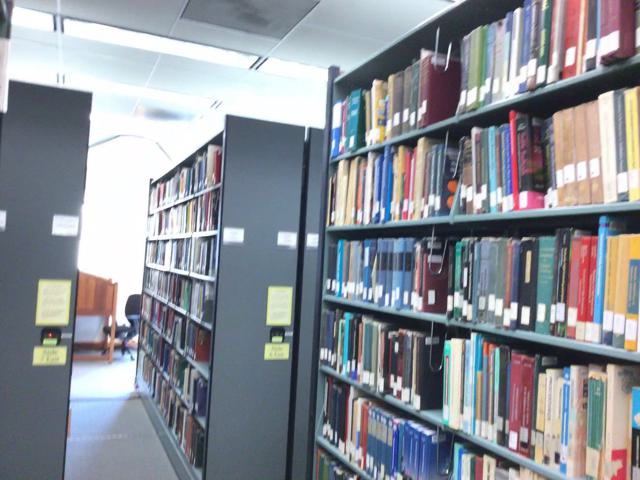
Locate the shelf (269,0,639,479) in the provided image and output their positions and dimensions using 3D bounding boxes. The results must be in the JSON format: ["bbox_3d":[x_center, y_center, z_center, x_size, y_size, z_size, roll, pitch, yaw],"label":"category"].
[{"bbox_3d":[0.900,0.450,0.960,0.650,2.700,3.860,7,-8,-24],"label":"shelf"}]
